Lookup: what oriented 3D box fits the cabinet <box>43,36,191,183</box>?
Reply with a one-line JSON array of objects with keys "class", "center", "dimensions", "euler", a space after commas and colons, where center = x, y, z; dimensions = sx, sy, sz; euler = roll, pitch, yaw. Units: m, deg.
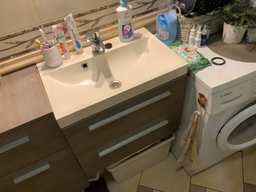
[{"class": "cabinet", "center": [-0.050, 0.060, 1.200], "dimensions": [0.600, 0.490, 0.420], "euler": [-24, 48, -15]}]

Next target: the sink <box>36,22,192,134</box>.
[{"class": "sink", "center": [-0.080, -0.130, 1.010], "dimensions": [0.600, 0.120, 0.410], "euler": [-24, 48, -15]}]
